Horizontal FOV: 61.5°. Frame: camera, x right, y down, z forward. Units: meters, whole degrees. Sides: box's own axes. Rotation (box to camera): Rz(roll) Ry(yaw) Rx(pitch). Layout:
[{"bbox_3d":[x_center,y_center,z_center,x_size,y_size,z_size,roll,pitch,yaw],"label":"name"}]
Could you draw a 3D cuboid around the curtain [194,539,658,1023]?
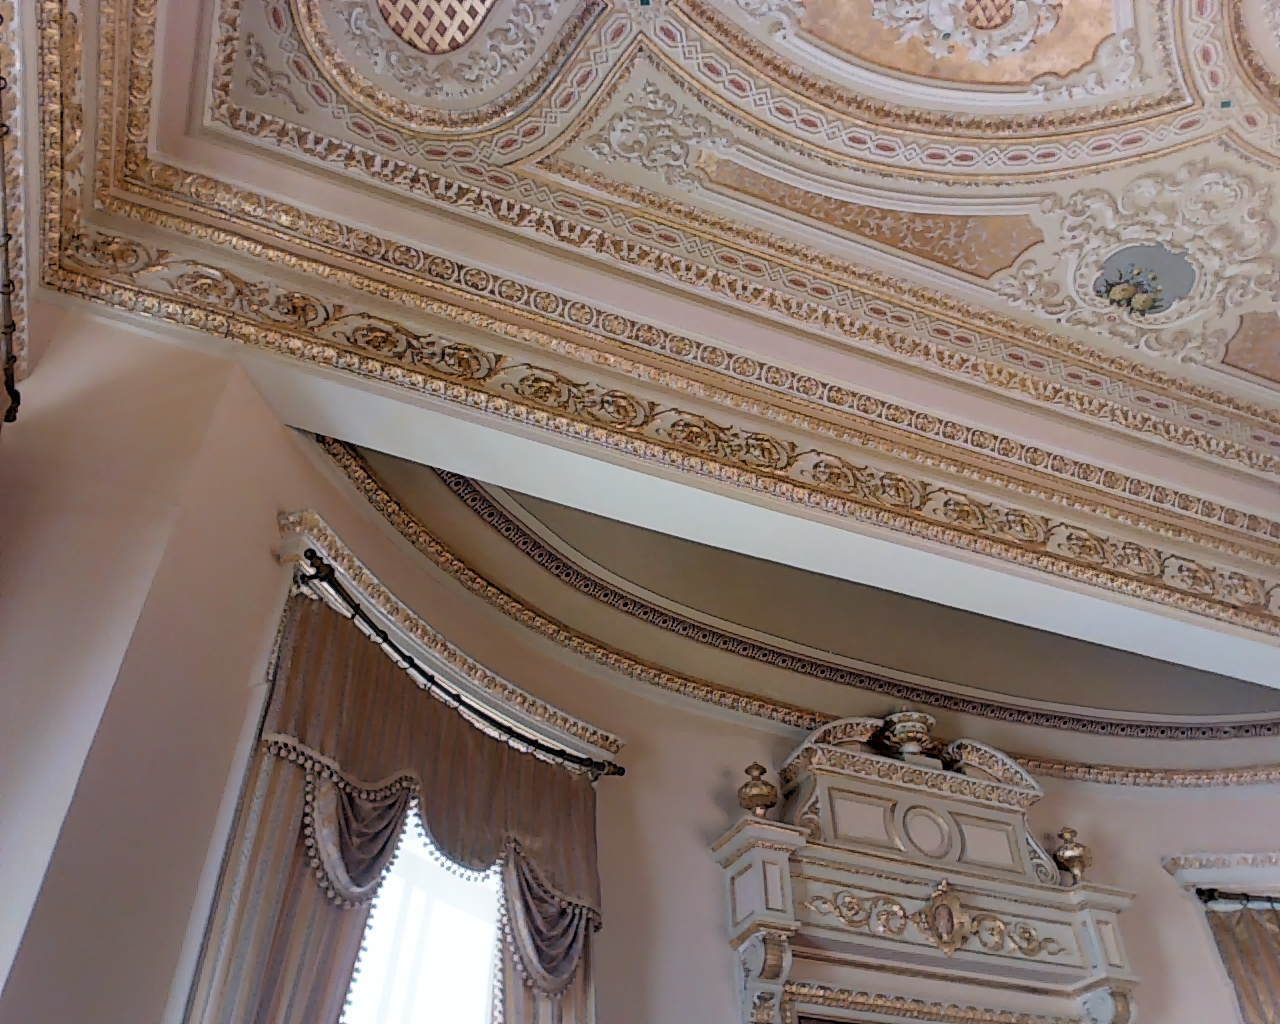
[{"bbox_3d":[-0.580,2.192,3.190,0.310,4.122,1.850,-26,-48,25],"label":"curtain"}]
